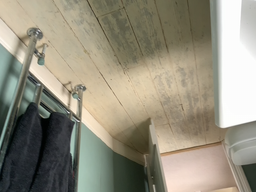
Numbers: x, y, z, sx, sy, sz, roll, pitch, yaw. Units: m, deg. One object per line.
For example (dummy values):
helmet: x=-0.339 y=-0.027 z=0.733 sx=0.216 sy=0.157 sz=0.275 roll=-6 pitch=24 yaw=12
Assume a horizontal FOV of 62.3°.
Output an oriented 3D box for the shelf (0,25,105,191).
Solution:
shelf: x=-0.330 y=0.110 z=1.010 sx=0.230 sy=0.720 sz=0.500 roll=-17 pitch=141 yaw=13
